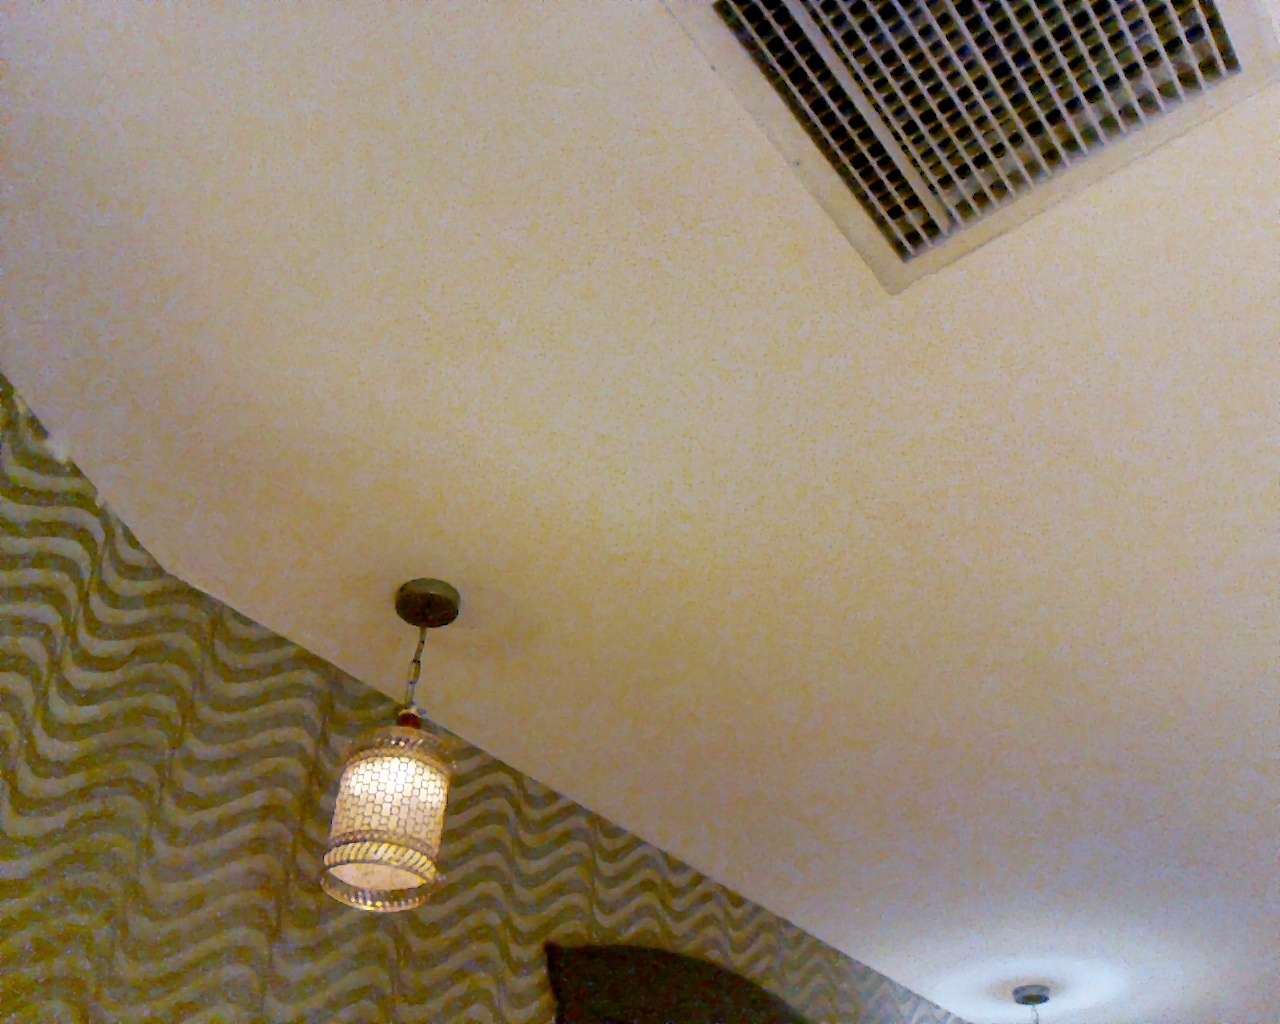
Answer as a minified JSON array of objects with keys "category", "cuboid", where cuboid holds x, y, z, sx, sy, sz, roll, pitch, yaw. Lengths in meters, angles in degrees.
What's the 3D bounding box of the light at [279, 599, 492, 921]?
[{"category":"light","cuboid":[-0.350,0.350,1.550,0.180,0.400,0.170,-11,-43,13]}]
